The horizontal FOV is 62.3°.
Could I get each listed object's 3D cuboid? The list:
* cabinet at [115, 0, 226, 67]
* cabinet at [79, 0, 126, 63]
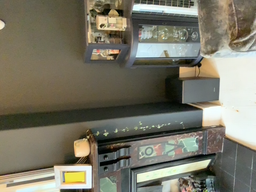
[{"bbox_3d":[0.350,-0.800,1.790,0.380,0.850,1.070,-157,65,-67],"label":"cabinet"},{"bbox_3d":[-0.210,-0.730,1.650,0.270,0.300,0.930,-157,65,-67],"label":"cabinet"}]
